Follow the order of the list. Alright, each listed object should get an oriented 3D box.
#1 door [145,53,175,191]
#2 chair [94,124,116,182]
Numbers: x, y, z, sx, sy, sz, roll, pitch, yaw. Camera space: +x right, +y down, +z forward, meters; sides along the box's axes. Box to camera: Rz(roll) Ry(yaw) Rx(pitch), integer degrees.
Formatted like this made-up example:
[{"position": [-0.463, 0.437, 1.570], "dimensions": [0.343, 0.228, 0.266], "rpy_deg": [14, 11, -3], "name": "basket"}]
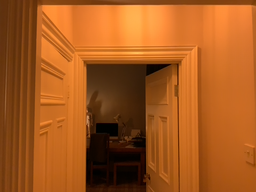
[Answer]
[{"position": [0.300, 0.670, 2.180], "dimensions": [0.040, 2.060, 0.790], "rpy_deg": [0, -2, -12], "name": "door"}, {"position": [-0.510, 1.170, 4.520], "dimensions": [0.430, 1.060, 0.600], "rpy_deg": [0, -2, -9], "name": "chair"}]
